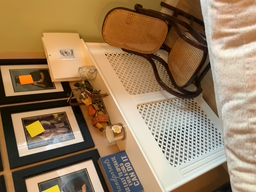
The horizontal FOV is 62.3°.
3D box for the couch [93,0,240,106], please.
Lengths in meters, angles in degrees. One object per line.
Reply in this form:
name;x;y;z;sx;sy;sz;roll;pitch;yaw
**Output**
couch;0.250;-0.370;1.570;0.670;0.730;0.430;58;139;30
